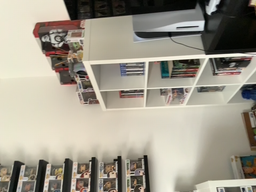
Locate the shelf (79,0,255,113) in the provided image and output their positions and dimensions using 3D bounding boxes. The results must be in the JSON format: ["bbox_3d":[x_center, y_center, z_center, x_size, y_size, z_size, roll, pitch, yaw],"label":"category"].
[{"bbox_3d":[0.460,-0.250,1.660,0.790,1.470,0.430,85,-177,-63],"label":"shelf"}]
